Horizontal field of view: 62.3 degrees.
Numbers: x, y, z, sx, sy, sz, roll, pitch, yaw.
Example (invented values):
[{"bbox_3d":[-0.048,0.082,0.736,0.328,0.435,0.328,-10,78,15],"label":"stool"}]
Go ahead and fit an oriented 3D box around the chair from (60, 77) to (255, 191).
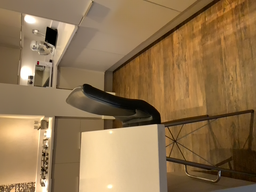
[{"bbox_3d":[0.200,0.240,1.260,0.390,1.080,0.500,-20,68,61],"label":"chair"}]
